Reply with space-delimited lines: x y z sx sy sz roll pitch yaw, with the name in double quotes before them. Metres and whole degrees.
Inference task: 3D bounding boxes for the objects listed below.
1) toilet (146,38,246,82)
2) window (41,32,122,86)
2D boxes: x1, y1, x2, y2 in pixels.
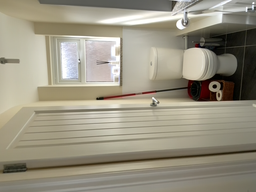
"toilet" 0.690 -0.370 2.360 0.710 0.790 0.380 -152 62 -76
"window" -0.560 -0.440 2.650 0.140 0.950 0.620 -163 74 -78
